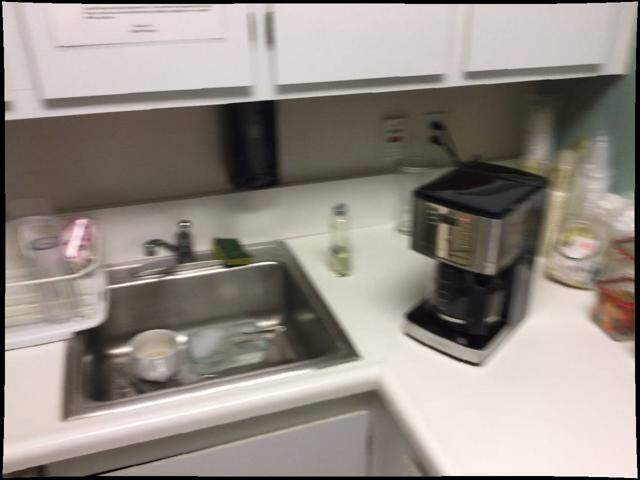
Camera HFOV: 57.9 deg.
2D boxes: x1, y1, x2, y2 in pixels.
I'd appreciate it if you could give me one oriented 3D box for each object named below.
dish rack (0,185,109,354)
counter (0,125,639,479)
[{"bbox_3d":[-0.679,0.060,1.250,0.380,0.200,0.350,-10,28,-18],"label":"dish rack"},{"bbox_3d":[-0.170,0.551,0.380,2.598,0.330,2.570,-10,28,-18],"label":"counter"}]
